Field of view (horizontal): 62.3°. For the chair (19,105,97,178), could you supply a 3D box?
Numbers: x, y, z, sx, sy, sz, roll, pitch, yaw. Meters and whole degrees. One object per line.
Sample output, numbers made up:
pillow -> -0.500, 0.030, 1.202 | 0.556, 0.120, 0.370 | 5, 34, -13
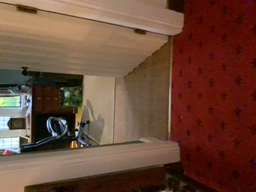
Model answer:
chair -> -1.170, 0.680, 3.410 | 0.760, 1.020, 0.740 | 57, 137, 45
